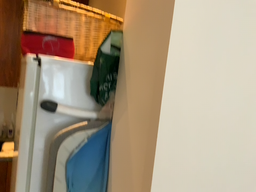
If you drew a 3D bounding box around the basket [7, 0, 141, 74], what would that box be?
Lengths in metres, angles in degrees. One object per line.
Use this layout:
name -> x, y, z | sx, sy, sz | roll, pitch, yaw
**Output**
basket -> -0.310, -0.320, 1.190 | 0.600, 0.310, 0.430 | 5, 4, -27
